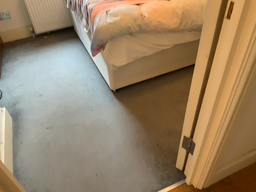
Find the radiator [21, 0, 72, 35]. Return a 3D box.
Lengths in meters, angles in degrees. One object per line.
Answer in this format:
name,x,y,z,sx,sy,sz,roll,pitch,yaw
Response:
radiator,-0.970,-1.050,2.530,0.480,0.530,0.110,-19,44,-17
